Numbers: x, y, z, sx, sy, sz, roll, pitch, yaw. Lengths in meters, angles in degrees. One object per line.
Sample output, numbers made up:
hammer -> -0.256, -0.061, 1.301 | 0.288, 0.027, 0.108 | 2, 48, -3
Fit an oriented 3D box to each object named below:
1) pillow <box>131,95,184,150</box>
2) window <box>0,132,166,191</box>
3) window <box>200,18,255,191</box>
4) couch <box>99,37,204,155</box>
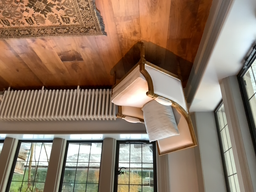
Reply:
pillow -> 0.300, 0.290, 2.290 | 0.190, 0.360, 0.470 | -10, 147, -40
window -> -0.980, 1.360, 2.620 | 2.900, 1.810, 0.100 | 1, 153, 2
window -> 0.880, 0.510, 1.390 | 0.080, 1.760, 2.540 | -1, 153, 6
couch -> 0.210, 0.070, 2.320 | 0.720, 0.930, 0.770 | 16, 150, -26
